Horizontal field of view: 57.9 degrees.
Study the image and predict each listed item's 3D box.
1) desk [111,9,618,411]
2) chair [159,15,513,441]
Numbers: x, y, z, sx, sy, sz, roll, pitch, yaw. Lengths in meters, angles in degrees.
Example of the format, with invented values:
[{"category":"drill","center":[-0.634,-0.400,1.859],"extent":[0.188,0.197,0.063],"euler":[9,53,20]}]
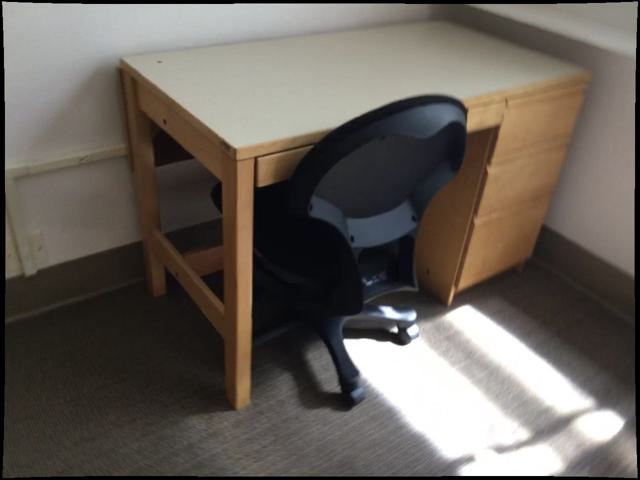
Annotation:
[{"category":"desk","center":[0.150,-0.210,1.850],"extent":[1.309,0.740,0.670],"euler":[-19,43,-30]},{"category":"chair","center":[0.000,-0.060,1.540],"extent":[0.570,0.841,0.560],"euler":[-22,44,-33]}]
